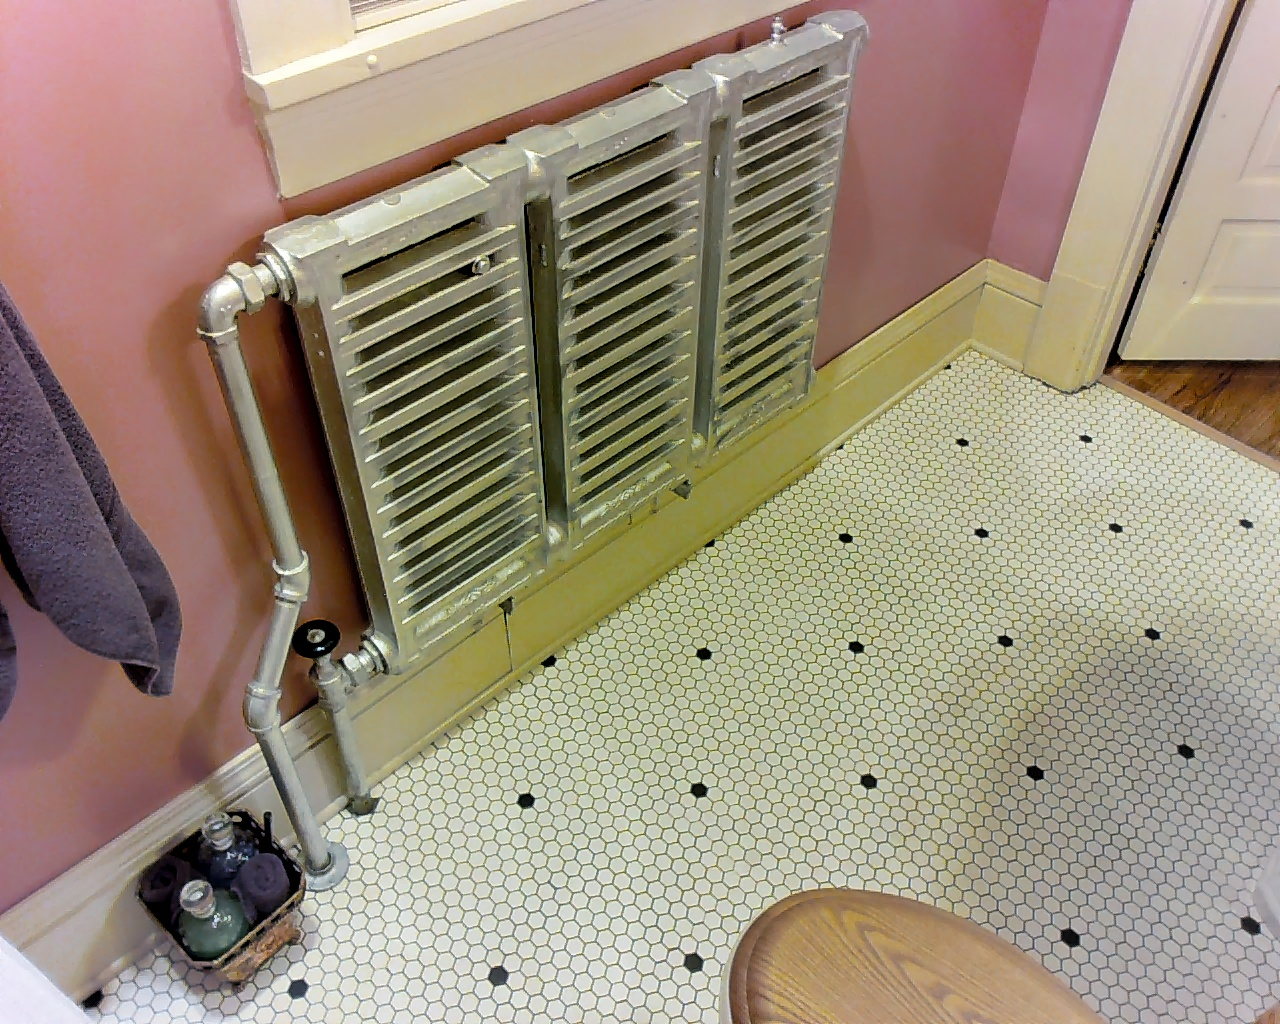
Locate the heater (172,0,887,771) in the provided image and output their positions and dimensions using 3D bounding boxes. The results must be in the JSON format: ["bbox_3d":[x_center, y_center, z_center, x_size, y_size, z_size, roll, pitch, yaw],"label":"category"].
[{"bbox_3d":[-0.060,-0.210,1.690,1.110,0.880,0.110,-34,53,-31],"label":"heater"}]
